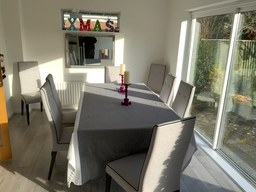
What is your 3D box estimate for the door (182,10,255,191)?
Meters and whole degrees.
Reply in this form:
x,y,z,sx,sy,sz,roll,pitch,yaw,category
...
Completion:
x,y,z,sx,sy,sz,roll,pitch,yaw,category
1.310,-0.110,2.880,0.100,1.890,2.330,0,16,-7,door
